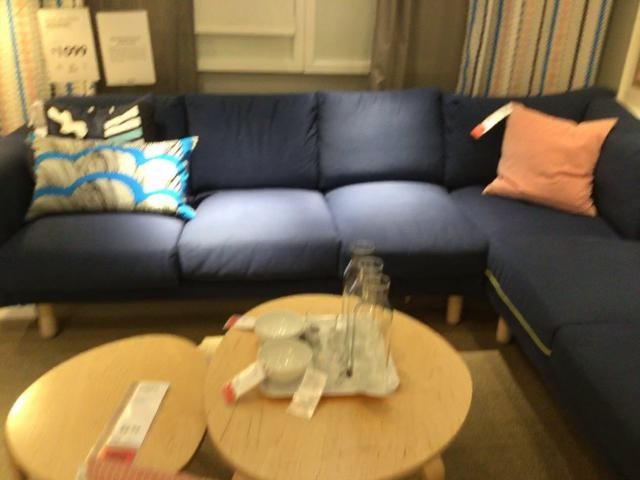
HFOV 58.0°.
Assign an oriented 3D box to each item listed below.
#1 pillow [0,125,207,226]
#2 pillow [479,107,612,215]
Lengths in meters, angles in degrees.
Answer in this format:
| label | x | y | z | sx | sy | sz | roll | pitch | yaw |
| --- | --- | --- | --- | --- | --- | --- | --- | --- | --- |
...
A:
| label | x | y | z | sx | sy | sz | roll | pitch | yaw |
| --- | --- | --- | --- | --- | --- | --- | --- | --- | --- |
| pillow | -0.830 | -0.270 | 2.330 | 0.700 | 0.280 | 0.410 | 1 | 22 | -6 |
| pillow | 0.960 | -0.350 | 2.470 | 0.430 | 0.340 | 0.280 | 16 | 25 | 27 |
